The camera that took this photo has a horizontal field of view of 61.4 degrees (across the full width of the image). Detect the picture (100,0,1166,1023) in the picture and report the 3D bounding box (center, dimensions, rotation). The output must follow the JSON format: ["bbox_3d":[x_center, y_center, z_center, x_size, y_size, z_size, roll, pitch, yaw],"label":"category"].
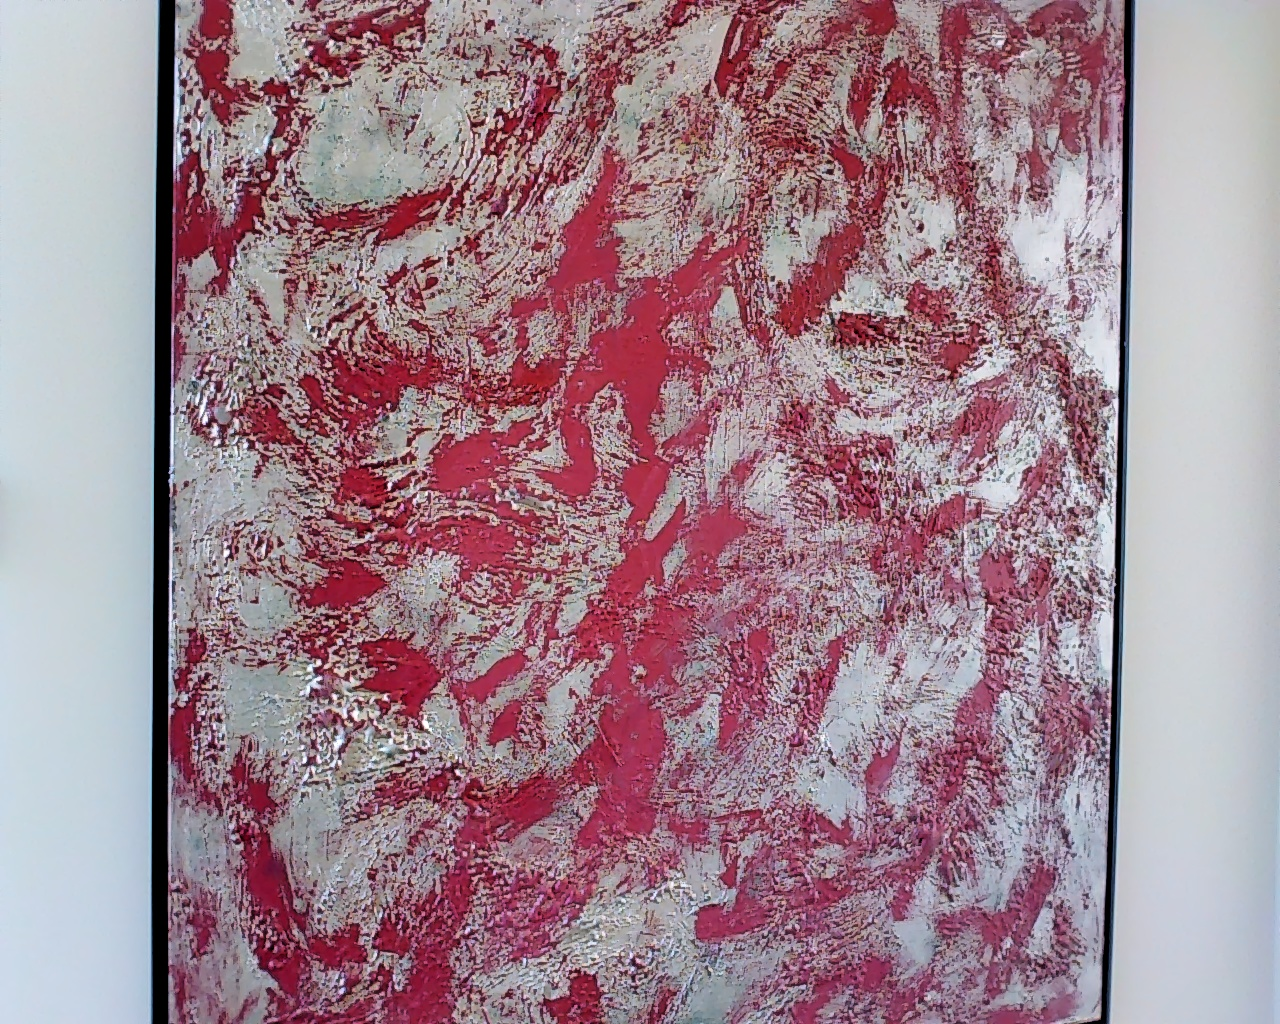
[{"bbox_3d":[0.120,-0.020,1.600,1.630,1.980,0.080,1,0,-22],"label":"picture"}]
